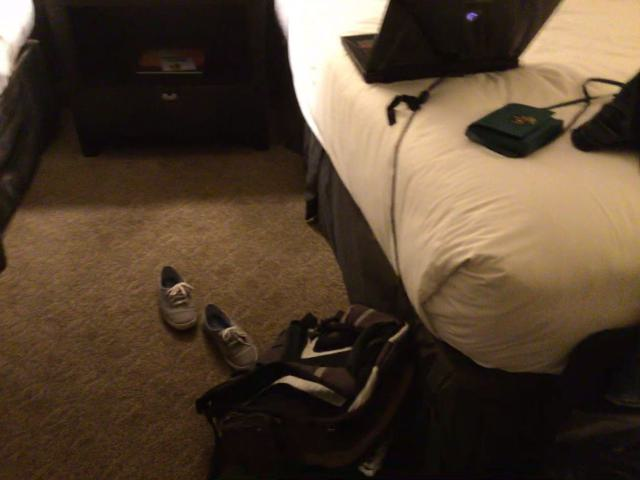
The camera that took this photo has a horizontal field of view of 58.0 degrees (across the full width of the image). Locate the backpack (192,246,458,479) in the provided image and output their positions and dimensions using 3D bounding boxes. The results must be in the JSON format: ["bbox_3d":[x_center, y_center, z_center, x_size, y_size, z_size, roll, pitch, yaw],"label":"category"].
[{"bbox_3d":[-0.040,0.310,1.290,0.460,0.350,0.520,-1,35,-11],"label":"backpack"}]
